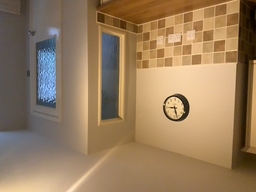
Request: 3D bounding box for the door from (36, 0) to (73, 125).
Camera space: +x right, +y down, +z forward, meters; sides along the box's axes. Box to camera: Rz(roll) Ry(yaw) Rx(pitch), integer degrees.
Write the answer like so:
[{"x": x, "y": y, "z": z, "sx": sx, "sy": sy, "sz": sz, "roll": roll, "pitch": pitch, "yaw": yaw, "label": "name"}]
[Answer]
[{"x": -0.950, "y": -0.690, "z": 2.680, "sx": 0.850, "sy": 2.000, "sz": 0.060, "roll": 5, "pitch": -175, "yaw": 44, "label": "door"}]
